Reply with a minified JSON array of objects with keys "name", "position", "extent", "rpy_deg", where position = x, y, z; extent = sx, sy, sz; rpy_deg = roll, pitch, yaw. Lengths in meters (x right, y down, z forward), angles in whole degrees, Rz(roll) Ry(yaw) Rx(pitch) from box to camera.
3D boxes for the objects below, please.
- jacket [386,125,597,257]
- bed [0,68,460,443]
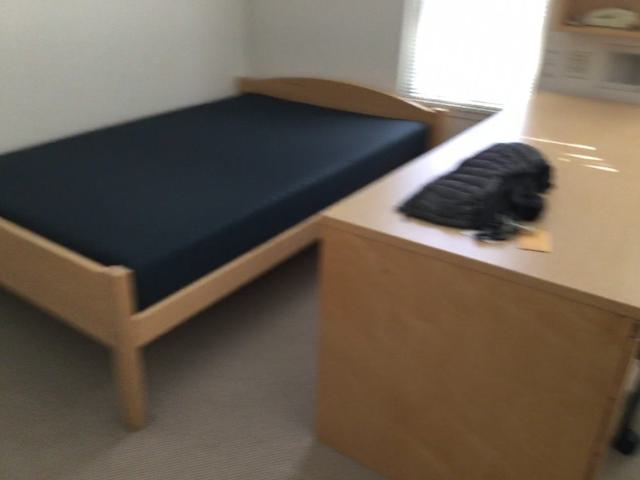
[{"name":"jacket","position":[0.470,-0.160,1.530],"extent":[0.340,0.130,0.560],"rpy_deg":[18,30,33]},{"name":"bed","position":[-0.490,-0.260,2.780],"extent":[1.420,0.710,2.190],"rpy_deg":[18,30,33]}]
